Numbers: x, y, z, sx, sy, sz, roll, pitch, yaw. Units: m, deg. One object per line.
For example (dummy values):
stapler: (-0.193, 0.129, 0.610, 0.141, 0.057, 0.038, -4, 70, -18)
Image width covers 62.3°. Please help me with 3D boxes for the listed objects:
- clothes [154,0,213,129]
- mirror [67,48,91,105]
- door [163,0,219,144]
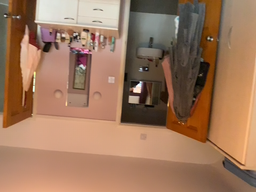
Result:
clothes: (0.610, -0.360, 2.440, 0.310, 1.390, 0.500, 3, -176, -18)
mirror: (-0.670, -0.260, 2.890, 0.280, 0.760, 0.030, 4, -176, -1)
door: (0.740, -0.510, 2.600, 0.060, 2.000, 0.790, 3, -176, -21)
